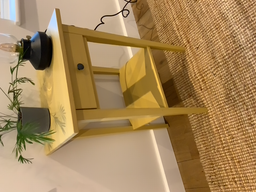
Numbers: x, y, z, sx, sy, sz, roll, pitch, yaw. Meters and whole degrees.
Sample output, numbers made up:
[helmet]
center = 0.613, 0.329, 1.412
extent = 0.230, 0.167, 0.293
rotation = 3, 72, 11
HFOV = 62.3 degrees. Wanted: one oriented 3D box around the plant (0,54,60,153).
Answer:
[plant]
center = -0.410, 0.040, 0.710
extent = 0.260, 0.260, 0.250
rotation = -35, 62, 49
